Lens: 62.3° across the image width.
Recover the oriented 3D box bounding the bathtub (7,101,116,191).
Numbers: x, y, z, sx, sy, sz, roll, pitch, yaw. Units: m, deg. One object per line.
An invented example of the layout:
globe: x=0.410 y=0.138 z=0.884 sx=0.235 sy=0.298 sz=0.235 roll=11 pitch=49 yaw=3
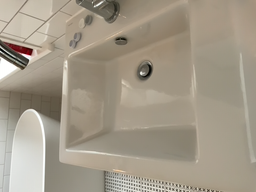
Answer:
bathtub: x=-0.580 y=0.940 z=1.740 sx=0.780 sy=0.550 sz=1.690 roll=-8 pitch=78 yaw=44

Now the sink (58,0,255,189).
sink: x=0.020 y=-0.060 z=0.630 sx=0.540 sy=0.190 sz=0.510 roll=-10 pitch=76 yaw=44
